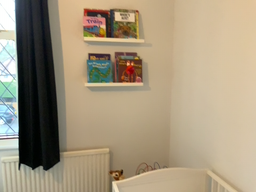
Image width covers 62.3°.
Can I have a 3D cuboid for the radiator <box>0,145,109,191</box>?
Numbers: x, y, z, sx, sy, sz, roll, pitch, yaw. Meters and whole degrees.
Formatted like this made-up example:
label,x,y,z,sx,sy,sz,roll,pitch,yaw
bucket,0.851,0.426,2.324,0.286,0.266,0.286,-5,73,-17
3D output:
label,x,y,z,sx,sy,sz,roll,pitch,yaw
radiator,-0.650,0.800,2.010,0.950,0.590,0.060,-2,9,-17
